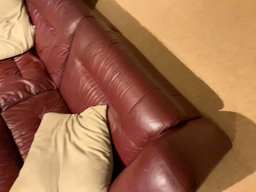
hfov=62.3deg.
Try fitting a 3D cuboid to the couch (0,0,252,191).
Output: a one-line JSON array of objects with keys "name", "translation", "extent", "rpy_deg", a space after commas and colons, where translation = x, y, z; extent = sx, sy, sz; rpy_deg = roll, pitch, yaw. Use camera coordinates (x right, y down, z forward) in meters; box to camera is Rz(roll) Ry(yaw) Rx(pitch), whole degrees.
[{"name": "couch", "translation": [-0.540, -0.080, 1.470], "extent": [2.110, 0.920, 1.070], "rpy_deg": [51, 123, 29]}]

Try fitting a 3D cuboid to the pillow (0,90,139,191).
[{"name": "pillow", "translation": [-0.280, 0.310, 1.100], "extent": [0.560, 0.210, 0.570], "rpy_deg": [24, 149, 7]}]
